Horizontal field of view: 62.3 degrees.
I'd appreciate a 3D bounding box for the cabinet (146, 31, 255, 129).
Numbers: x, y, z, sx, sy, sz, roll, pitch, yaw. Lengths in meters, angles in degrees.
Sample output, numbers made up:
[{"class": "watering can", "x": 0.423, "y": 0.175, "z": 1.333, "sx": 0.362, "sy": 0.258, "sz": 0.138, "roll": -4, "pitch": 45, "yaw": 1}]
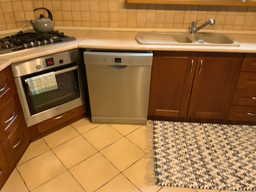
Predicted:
[{"class": "cabinet", "x": 1.020, "y": -0.180, "z": 2.300, "sx": 1.590, "sy": 0.840, "sz": 0.610, "roll": 2, "pitch": 30, "yaw": 2}]
